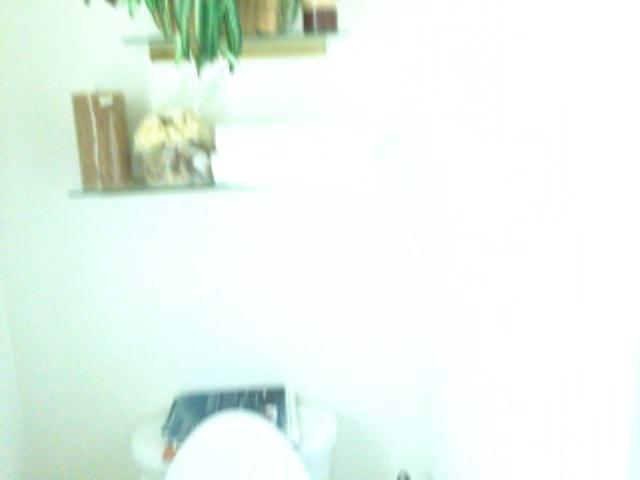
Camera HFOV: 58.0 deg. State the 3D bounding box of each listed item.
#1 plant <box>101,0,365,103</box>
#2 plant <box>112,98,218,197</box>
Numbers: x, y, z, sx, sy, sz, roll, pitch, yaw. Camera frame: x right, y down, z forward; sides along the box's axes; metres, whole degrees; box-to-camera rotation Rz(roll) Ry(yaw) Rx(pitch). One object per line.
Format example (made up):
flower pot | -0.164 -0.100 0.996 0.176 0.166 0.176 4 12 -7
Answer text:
plant | -0.170 -0.490 1.140 0.450 0.380 0.270 -6 12 -4
plant | -0.340 -0.210 1.300 0.180 0.190 0.160 -6 12 -4
